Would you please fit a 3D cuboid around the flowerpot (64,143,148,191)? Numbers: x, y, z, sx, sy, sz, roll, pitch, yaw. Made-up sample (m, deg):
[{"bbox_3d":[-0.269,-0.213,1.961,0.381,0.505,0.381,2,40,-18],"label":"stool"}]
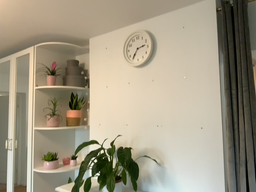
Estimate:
[{"bbox_3d":[-0.170,0.660,1.810,0.390,0.400,0.610,-4,-5,40],"label":"flowerpot"}]
